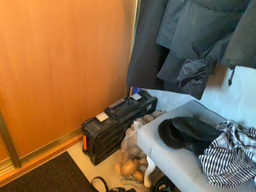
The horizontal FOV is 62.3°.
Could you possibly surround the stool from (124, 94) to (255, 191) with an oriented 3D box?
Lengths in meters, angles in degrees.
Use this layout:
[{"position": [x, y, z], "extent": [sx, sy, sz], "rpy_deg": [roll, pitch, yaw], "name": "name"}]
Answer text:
[{"position": [0.370, 0.420, 1.050], "extent": [0.430, 0.480, 0.640], "rpy_deg": [-24, 50, -32], "name": "stool"}]
